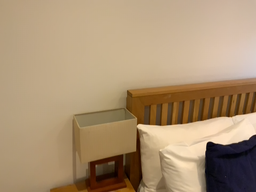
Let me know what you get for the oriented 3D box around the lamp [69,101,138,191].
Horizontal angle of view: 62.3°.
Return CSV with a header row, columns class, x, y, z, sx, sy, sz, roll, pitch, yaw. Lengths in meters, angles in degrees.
class,x,y,z,sx,sy,sz,roll,pitch,yaw
lamp,-0.150,0.330,1.260,0.340,0.540,0.200,-5,20,-18
